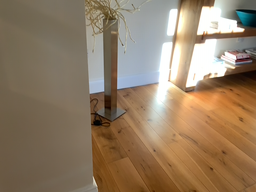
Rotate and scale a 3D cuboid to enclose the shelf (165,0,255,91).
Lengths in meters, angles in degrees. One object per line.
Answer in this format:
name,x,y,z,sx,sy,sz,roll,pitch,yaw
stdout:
shelf,1.530,-1.280,2.680,1.930,2.200,0.400,-11,32,-24
